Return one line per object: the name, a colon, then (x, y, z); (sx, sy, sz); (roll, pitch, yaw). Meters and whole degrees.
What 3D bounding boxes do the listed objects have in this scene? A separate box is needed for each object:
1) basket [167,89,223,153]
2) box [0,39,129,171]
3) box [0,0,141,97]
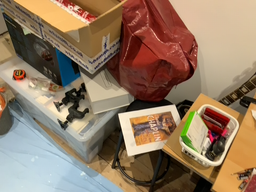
basket: (0.260, 0.090, 0.820); (0.110, 0.080, 0.220); (32, 54, 20)
box: (-0.450, 0.030, 1.470); (0.810, 0.400, 0.410); (34, 55, 21)
box: (-0.460, -0.490, 1.020); (1.000, 0.410, 0.370); (33, 54, 21)
